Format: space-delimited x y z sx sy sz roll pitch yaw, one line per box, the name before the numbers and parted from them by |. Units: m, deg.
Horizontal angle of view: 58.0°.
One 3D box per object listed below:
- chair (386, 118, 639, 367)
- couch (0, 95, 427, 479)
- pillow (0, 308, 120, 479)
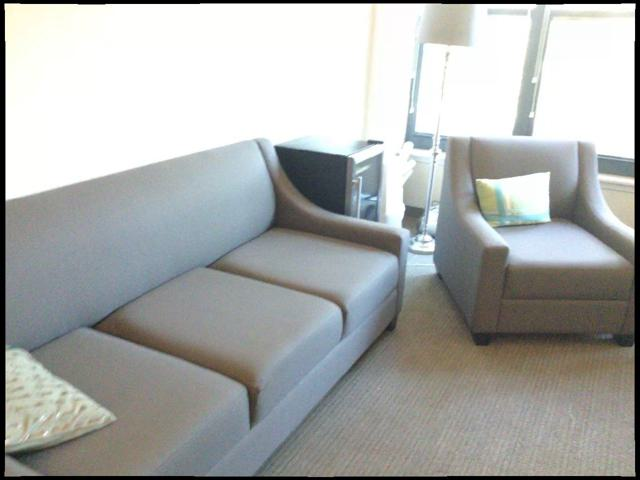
chair | 0.988 -0.050 3.030 0.958 0.901 1.050 0 26 -9
couch | -0.469 0.240 2.170 0.998 0.891 2.260 15 32 22
pillow | -0.818 0.421 1.470 0.470 0.190 0.390 26 33 37
